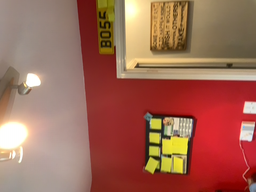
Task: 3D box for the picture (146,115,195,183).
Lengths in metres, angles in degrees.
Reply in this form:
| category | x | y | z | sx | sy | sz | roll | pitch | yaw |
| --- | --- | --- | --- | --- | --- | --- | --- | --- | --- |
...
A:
| category | x | y | z | sx | sy | sz | roll | pitch | yaw |
| --- | --- | --- | --- | --- | --- | --- | --- | --- | --- |
| picture | 0.320 | 0.420 | 1.650 | 0.040 | 0.350 | 0.550 | -64 | -26 | -71 |
